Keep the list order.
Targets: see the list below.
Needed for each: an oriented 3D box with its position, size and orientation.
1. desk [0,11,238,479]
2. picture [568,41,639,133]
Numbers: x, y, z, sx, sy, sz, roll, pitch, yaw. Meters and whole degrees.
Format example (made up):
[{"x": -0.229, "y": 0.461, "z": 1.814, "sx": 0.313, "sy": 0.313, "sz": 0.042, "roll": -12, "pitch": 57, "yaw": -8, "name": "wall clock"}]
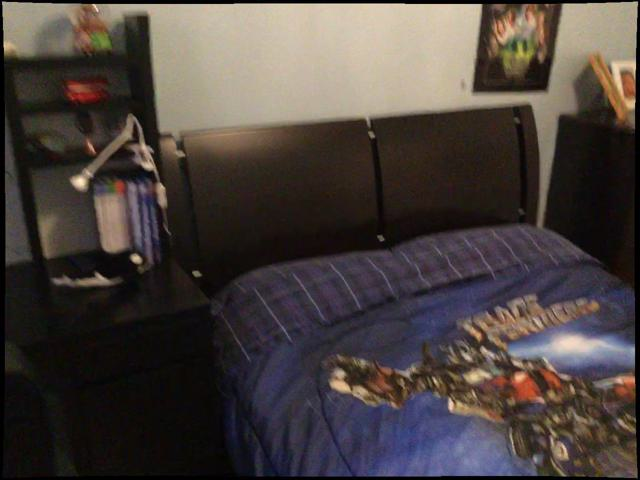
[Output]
[{"x": -0.839, "y": 0.200, "z": 1.360, "sx": 1.089, "sy": 1.351, "sz": 0.570, "roll": -12, "pitch": 25, "yaw": -26, "name": "desk"}, {"x": 1.189, "y": -0.631, "z": 2.350, "sx": 0.230, "sy": 0.310, "sz": 0.330, "roll": 13, "pitch": 26, "yaw": 31, "name": "picture"}]
